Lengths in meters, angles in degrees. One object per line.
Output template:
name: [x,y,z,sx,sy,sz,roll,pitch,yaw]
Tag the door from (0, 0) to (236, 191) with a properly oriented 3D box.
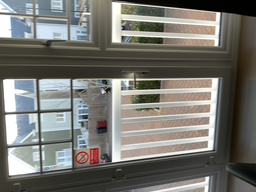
door: [-0.010,0.180,1.930,0.120,2.190,2.200,-157,66,-71]
